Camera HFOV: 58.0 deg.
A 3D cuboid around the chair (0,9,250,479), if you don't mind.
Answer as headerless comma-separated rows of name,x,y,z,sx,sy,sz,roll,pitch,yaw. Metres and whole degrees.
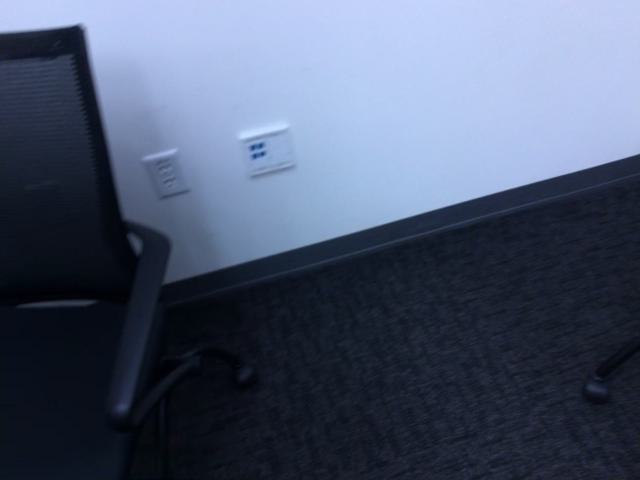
chair,-0.530,0.200,1.000,0.630,0.950,0.540,-2,43,3
